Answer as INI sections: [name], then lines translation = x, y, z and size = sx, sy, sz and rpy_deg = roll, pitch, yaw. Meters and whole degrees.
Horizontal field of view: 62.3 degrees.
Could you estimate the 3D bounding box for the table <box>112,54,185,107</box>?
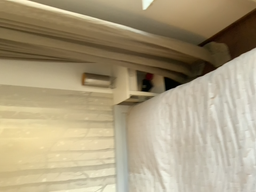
[table]
translation = 0.220, -0.140, 2.290
size = 0.300, 0.700, 0.430
rpy_deg = -28, 61, 58
